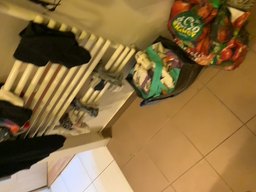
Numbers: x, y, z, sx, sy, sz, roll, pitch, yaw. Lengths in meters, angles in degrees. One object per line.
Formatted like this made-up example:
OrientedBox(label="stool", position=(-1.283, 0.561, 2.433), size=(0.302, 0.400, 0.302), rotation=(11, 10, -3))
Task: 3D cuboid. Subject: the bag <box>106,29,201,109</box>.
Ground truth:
OrientedBox(label="bag", position=(0.160, -0.130, 1.210), size=(0.260, 0.430, 0.290), rotation=(-44, 66, 27))
